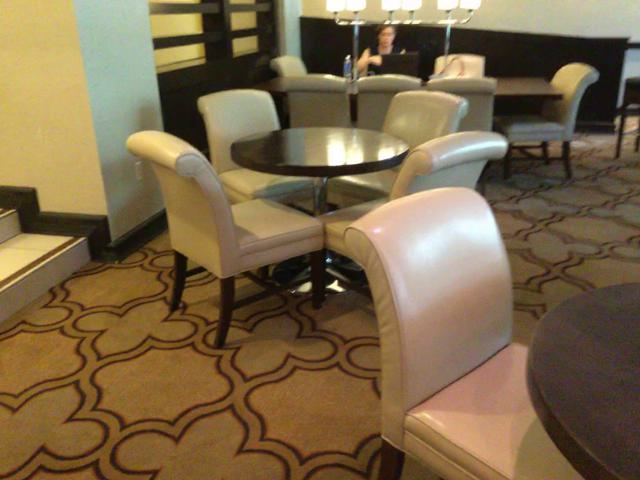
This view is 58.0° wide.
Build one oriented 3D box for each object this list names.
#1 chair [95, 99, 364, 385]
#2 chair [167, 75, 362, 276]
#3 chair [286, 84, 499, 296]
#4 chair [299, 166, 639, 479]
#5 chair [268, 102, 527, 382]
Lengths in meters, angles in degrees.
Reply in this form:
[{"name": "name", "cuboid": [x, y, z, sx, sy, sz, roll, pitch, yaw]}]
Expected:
[{"name": "chair", "cuboid": [-0.390, -0.080, 2.670, 0.810, 0.940, 0.840, -21, 28, -35]}, {"name": "chair", "cuboid": [-0.350, -0.460, 3.550, 0.860, 0.910, 0.910, -13, 25, -22]}, {"name": "chair", "cuboid": [0.440, -0.360, 3.380, 0.860, 0.920, 0.860, 13, 28, 34]}, {"name": "chair", "cuboid": [0.460, 0.390, 1.480, 0.590, 0.920, 0.820, -20, 28, -35]}, {"name": "chair", "cuboid": [0.330, -0.070, 2.640, 0.680, 0.930, 0.860, -20, 28, -35]}]
